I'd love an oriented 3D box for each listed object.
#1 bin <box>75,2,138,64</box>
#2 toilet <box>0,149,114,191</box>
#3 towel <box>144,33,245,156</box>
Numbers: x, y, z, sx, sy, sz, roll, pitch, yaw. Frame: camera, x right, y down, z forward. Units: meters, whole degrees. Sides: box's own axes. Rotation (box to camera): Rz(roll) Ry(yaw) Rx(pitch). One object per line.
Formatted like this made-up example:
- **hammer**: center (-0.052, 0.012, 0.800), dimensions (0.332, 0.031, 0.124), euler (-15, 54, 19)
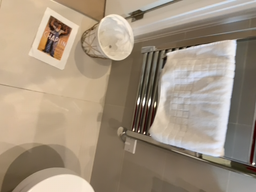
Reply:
- **bin**: center (-0.140, -0.360, 1.300), dimensions (0.210, 0.300, 0.270), euler (12, 86, -40)
- **toilet**: center (-0.360, 0.550, 0.960), dimensions (0.380, 0.340, 0.530), euler (12, 86, -40)
- **towel**: center (0.260, -0.010, 0.890), dimensions (0.110, 0.340, 0.430), euler (12, 86, -40)
